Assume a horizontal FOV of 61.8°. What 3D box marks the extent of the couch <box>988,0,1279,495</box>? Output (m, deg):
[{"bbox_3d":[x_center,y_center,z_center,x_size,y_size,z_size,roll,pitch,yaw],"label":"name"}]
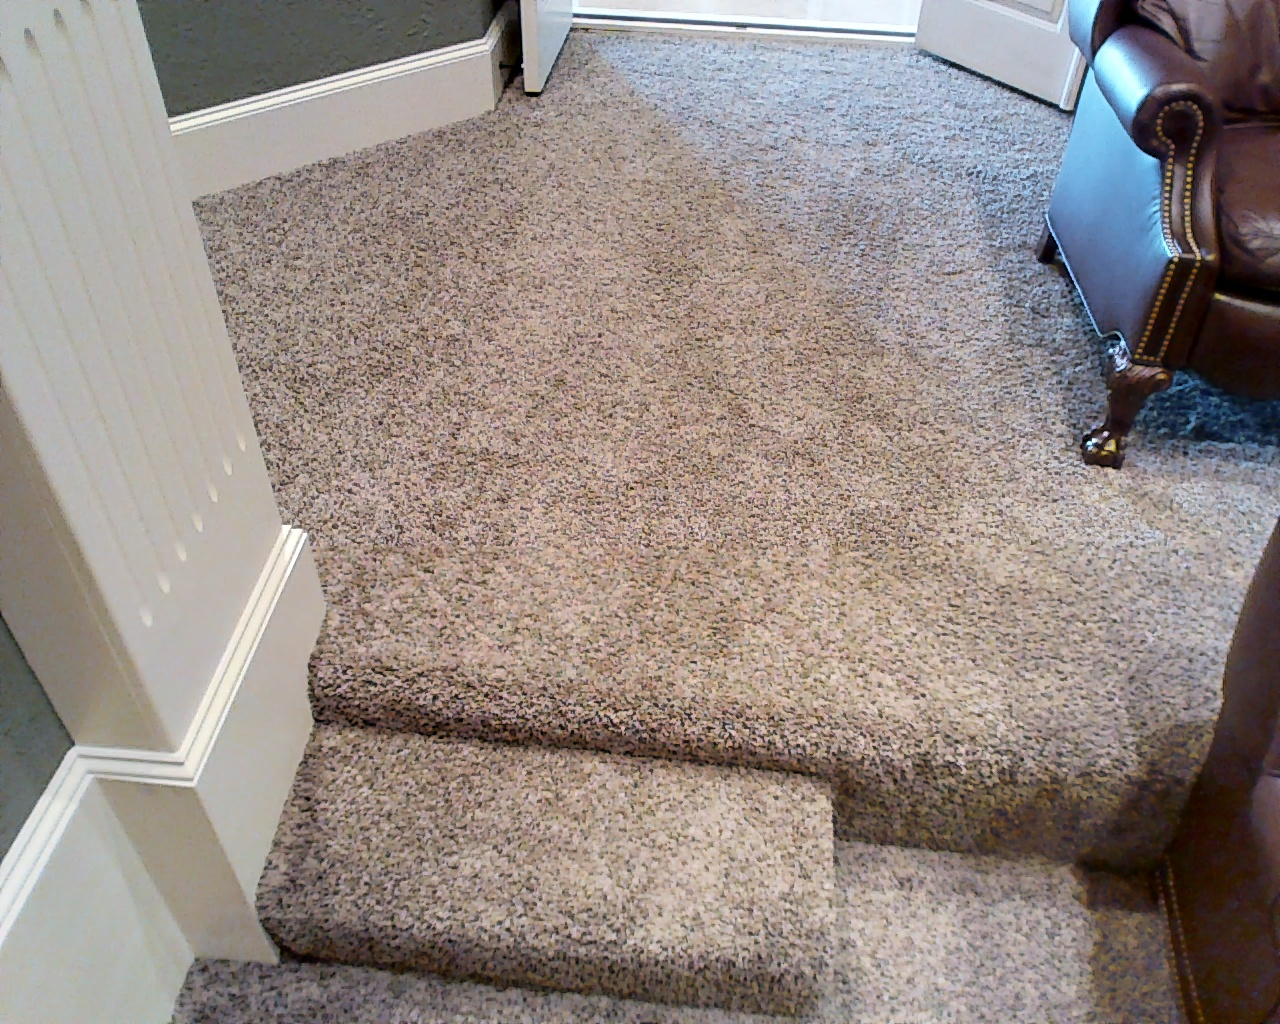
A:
[{"bbox_3d":[1.260,-0.760,1.950,0.840,1.090,0.980,5,43,3],"label":"couch"}]
